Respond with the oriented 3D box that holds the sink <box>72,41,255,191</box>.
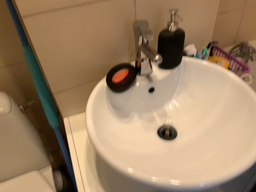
[{"bbox_3d":[0.120,0.060,0.630,0.450,0.160,0.450,-18,44,-14],"label":"sink"}]
